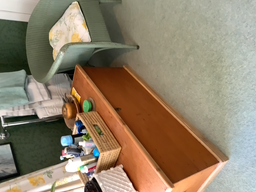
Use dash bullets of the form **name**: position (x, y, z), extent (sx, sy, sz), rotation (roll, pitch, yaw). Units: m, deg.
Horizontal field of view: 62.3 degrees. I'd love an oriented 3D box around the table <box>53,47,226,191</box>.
- **table**: position (-0.080, 0.240, 1.460), extent (1.160, 0.420, 0.660), rotation (48, 130, 37)
